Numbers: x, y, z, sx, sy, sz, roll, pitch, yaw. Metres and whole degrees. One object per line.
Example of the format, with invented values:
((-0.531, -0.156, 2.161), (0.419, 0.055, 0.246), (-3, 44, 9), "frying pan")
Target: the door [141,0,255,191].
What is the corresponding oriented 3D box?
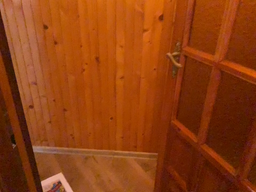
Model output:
((0.370, 0.010, 0.810), (0.140, 2.070, 0.940), (-9, 30, -20), "door")
